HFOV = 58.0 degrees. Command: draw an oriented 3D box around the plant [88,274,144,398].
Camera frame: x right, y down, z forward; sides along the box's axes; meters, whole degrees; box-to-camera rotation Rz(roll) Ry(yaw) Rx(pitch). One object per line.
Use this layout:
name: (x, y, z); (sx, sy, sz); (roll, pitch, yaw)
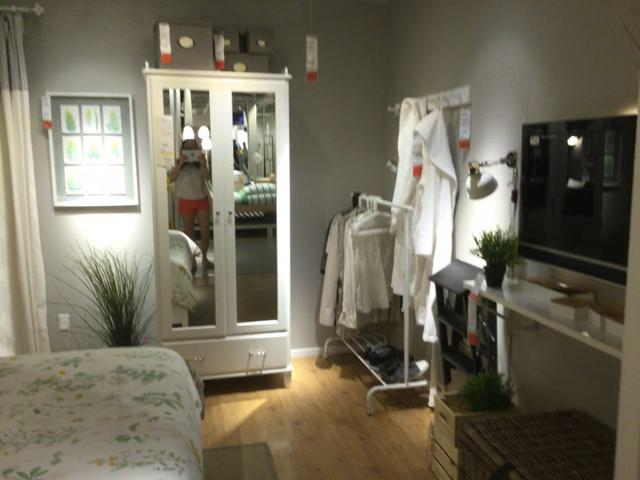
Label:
plant: (-1.280, 0.590, 3.670); (0.290, 0.680, 0.380); (-1, 7, -15)

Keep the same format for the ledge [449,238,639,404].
ledge: (0.880, 0.220, 2.040); (0.310, 0.320, 1.160); (-1, 7, -15)
